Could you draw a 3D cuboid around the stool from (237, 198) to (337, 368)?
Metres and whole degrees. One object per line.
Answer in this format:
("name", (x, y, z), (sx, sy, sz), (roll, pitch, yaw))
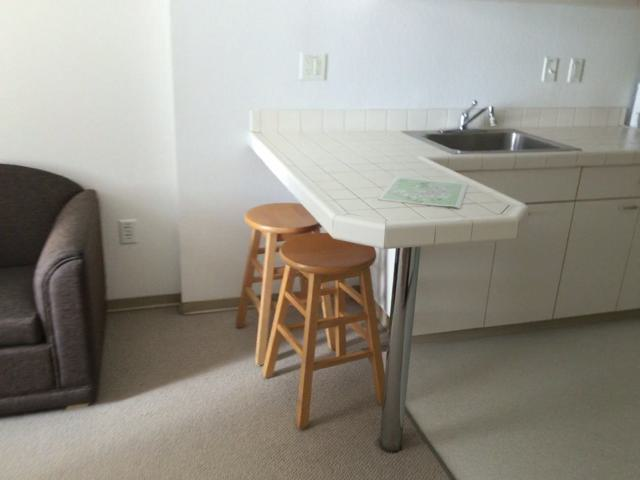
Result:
("stool", (-0.160, 0.170, 2.550), (0.350, 0.610, 0.420), (-3, 19, -14))

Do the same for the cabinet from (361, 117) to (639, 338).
("cabinet", (1.050, -0.120, 2.770), (1.580, 0.810, 0.570), (-5, 20, -14))

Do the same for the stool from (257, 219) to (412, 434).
("stool", (0.020, 0.300, 2.250), (0.450, 0.620, 0.530), (-3, 19, -14))
